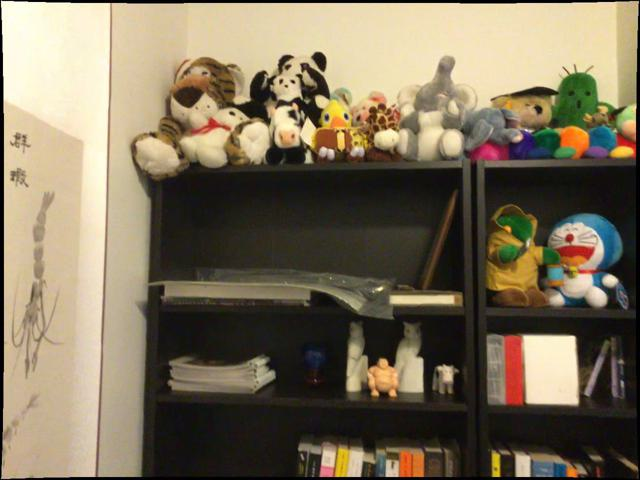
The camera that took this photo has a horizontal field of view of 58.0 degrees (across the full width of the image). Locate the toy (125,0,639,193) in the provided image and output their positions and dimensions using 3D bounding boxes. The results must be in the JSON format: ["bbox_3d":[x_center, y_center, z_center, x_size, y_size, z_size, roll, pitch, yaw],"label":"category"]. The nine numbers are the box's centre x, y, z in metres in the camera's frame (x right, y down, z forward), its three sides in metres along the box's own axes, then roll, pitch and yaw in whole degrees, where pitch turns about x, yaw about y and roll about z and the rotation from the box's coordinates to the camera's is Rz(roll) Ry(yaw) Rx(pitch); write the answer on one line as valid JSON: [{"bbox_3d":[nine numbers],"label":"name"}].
[{"bbox_3d":[0.190,-0.341,1.480,1.267,0.391,0.350,0,-3,7],"label":"toy"}]

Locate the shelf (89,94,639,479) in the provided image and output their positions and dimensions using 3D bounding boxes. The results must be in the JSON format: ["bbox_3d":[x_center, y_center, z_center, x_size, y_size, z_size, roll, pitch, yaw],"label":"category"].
[{"bbox_3d":[0.170,0.732,1.360,1.267,2.015,0.480,0,-3,7],"label":"shelf"}]

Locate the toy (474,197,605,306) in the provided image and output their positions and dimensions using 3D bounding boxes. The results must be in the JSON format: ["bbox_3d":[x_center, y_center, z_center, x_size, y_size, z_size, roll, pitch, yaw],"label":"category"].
[{"bbox_3d":[0.529,0.030,1.420,0.269,0.251,0.160,0,-3,7],"label":"toy"}]
